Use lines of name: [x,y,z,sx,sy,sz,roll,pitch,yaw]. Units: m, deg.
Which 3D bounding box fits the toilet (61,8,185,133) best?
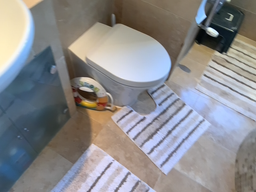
toilet: [-0.040,-0.160,1.400,0.580,0.460,0.410,31,59,13]
